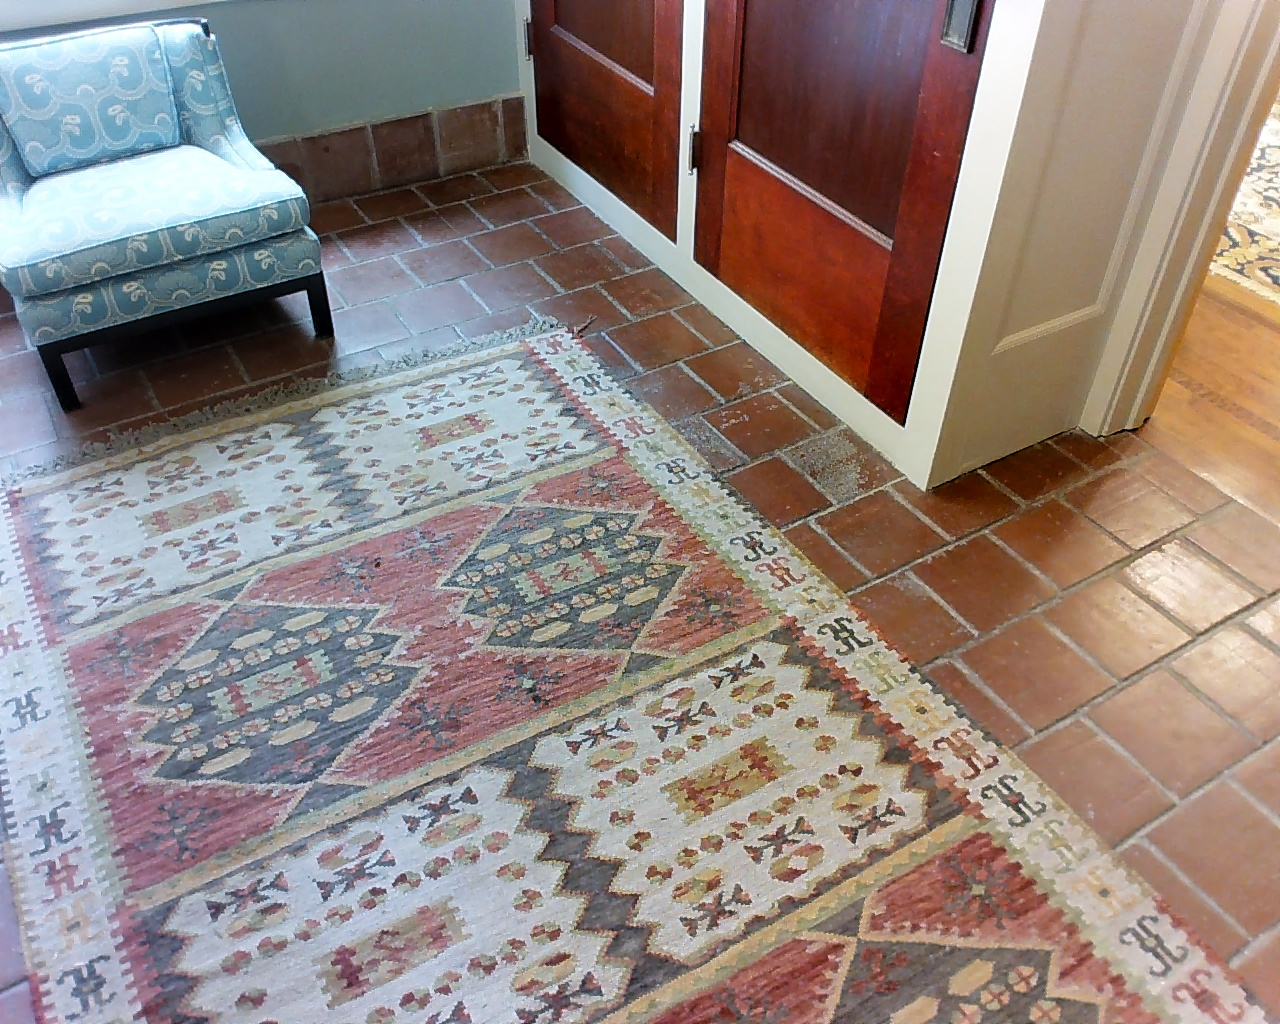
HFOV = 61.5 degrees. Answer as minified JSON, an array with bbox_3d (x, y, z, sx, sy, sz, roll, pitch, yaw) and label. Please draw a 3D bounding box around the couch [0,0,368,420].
[{"bbox_3d":[-1.280,-0.840,2.780,0.800,0.710,0.740,-23,47,-24],"label":"couch"}]
